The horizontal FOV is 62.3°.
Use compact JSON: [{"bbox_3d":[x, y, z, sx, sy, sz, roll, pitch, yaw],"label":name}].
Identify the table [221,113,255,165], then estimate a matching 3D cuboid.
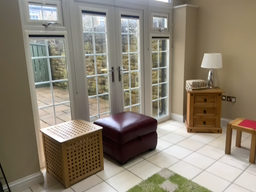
[{"bbox_3d":[1.500,0.510,2.680,0.520,0.420,0.370,-12,17,-39],"label":"table"}]
